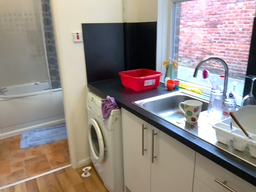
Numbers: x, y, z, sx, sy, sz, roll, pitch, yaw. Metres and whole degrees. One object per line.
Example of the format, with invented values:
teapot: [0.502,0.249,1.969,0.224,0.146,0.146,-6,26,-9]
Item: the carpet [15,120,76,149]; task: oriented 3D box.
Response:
carpet: [-1.160,0.520,3.000,0.730,0.030,0.430,-13,22,-31]
